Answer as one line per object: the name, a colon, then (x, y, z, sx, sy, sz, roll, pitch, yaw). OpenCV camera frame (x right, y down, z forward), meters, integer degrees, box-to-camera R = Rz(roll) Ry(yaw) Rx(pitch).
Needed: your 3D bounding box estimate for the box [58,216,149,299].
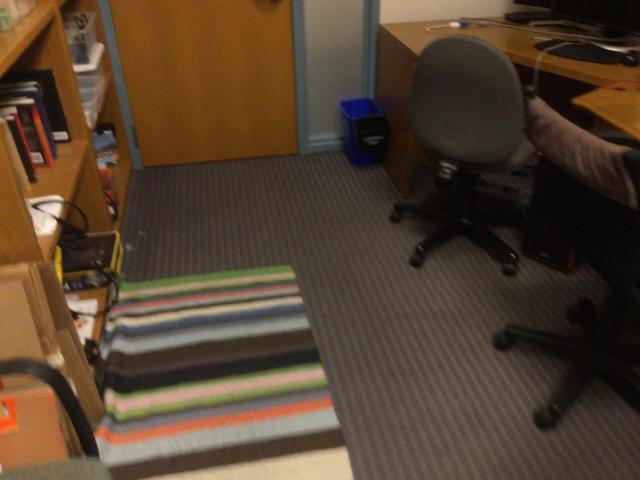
box: (-0.820, 0.060, 2.230, 0.270, 0.150, 0.300, -6, 33, -8)
